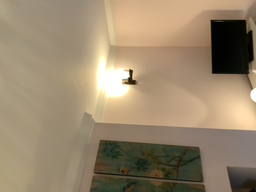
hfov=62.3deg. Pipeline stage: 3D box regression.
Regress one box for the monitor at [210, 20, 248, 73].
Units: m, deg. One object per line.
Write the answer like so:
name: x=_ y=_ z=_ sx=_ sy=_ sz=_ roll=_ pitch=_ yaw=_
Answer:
monitor: x=1.310 y=-0.650 z=2.770 sx=0.050 sy=0.440 sz=0.700 roll=64 pitch=-151 yaw=-79
